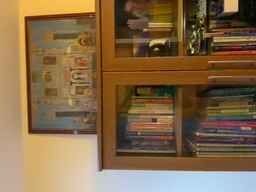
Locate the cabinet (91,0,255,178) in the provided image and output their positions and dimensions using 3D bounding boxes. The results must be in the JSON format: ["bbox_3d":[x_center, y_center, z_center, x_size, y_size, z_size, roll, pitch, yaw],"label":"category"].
[{"bbox_3d":[0.430,-0.110,1.050,0.320,1.150,0.910,-46,-45,-86],"label":"cabinet"}]
